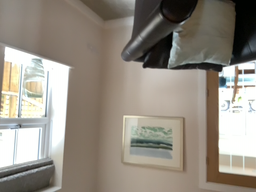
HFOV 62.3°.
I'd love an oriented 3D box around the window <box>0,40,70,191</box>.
[{"bbox_3d":[-1.010,0.190,2.050,0.350,1.200,0.820,0,176,26],"label":"window"}]
